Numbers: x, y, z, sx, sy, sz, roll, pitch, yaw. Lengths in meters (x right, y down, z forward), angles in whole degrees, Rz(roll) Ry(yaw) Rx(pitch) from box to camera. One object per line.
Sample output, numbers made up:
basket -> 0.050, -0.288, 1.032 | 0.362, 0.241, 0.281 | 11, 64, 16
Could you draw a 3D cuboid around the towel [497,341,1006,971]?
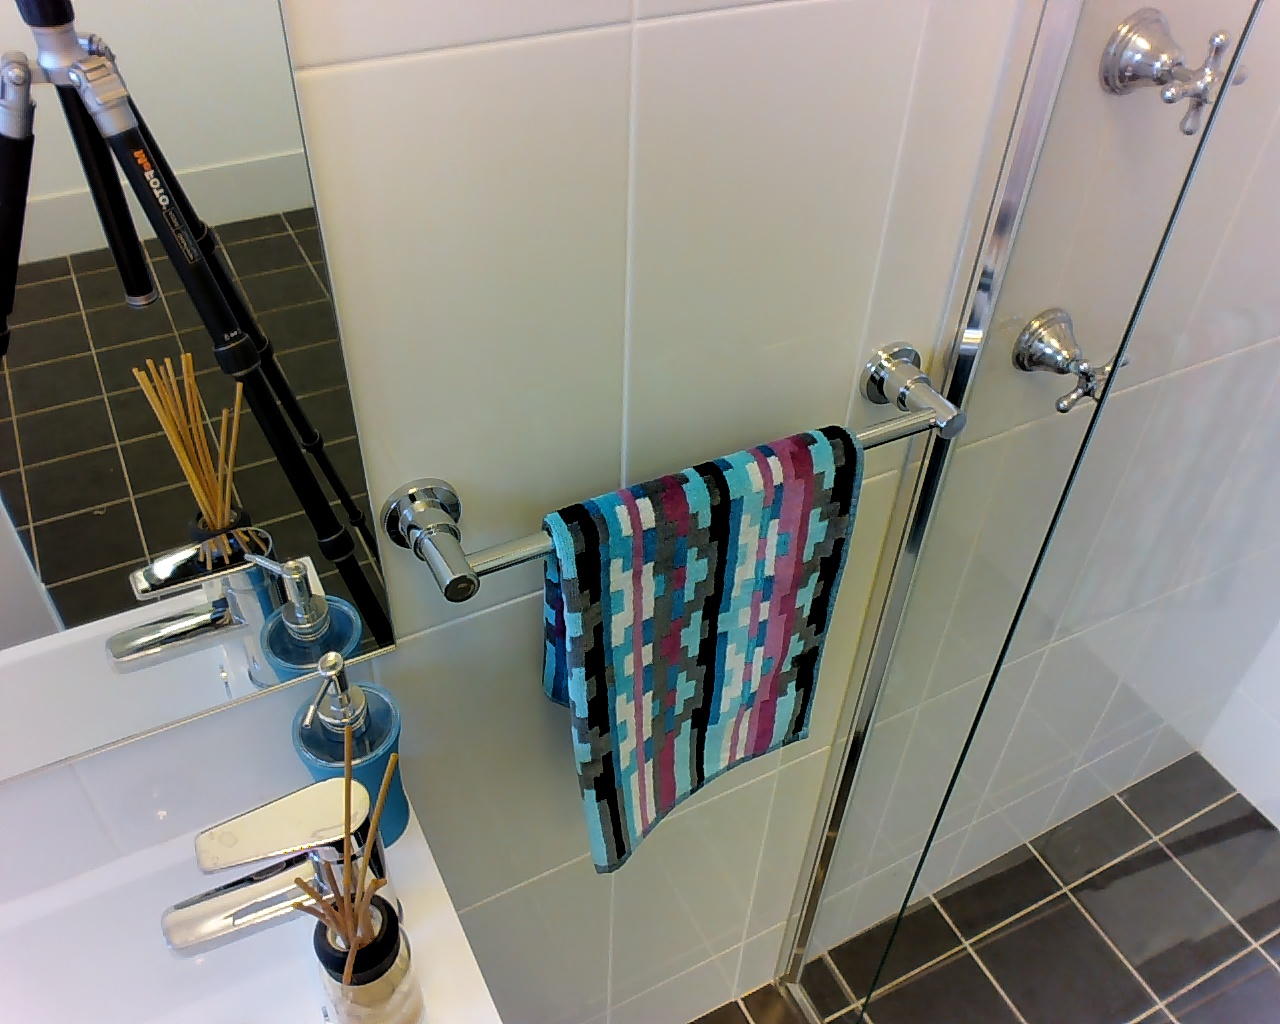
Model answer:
towel -> 0.070, 0.130, 0.860 | 0.310, 0.460, 0.140 | -18, 45, -22
